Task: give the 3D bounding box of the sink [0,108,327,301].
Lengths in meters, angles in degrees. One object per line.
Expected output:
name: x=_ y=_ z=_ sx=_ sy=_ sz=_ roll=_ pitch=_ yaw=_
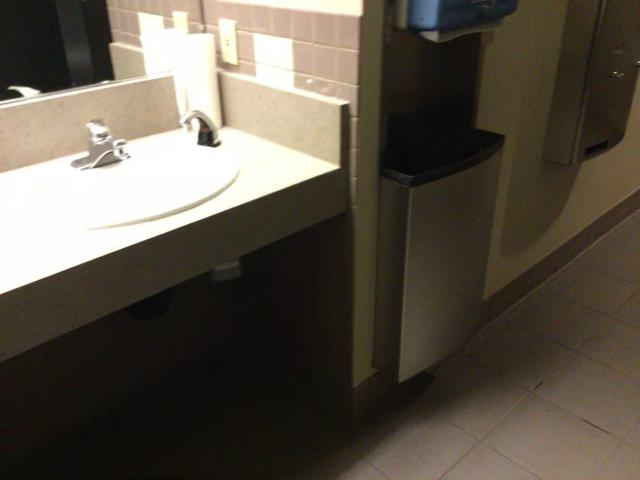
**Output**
sink: x=-0.390 y=-0.140 z=1.410 sx=0.660 sy=0.160 sz=0.470 roll=-26 pitch=33 yaw=-35
